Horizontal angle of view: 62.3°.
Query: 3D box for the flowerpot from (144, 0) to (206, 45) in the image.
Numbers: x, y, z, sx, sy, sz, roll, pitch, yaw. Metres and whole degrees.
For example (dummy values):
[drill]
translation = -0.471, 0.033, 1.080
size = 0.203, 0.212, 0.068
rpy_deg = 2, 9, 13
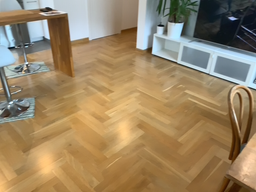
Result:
[flowerpot]
translation = 0.790, -1.720, 3.380
size = 0.710, 1.550, 0.660
rpy_deg = 28, 40, 35
